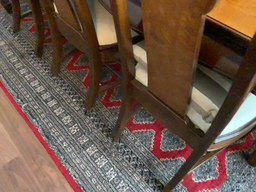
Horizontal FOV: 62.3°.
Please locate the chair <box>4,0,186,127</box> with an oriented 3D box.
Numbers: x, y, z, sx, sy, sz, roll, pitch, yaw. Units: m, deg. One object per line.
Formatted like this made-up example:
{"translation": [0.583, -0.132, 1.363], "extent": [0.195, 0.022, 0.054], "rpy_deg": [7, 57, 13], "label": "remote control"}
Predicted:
{"translation": [-0.140, -0.490, 0.970], "extent": [0.660, 1.030, 0.550], "rpy_deg": [-35, 62, -28], "label": "chair"}
